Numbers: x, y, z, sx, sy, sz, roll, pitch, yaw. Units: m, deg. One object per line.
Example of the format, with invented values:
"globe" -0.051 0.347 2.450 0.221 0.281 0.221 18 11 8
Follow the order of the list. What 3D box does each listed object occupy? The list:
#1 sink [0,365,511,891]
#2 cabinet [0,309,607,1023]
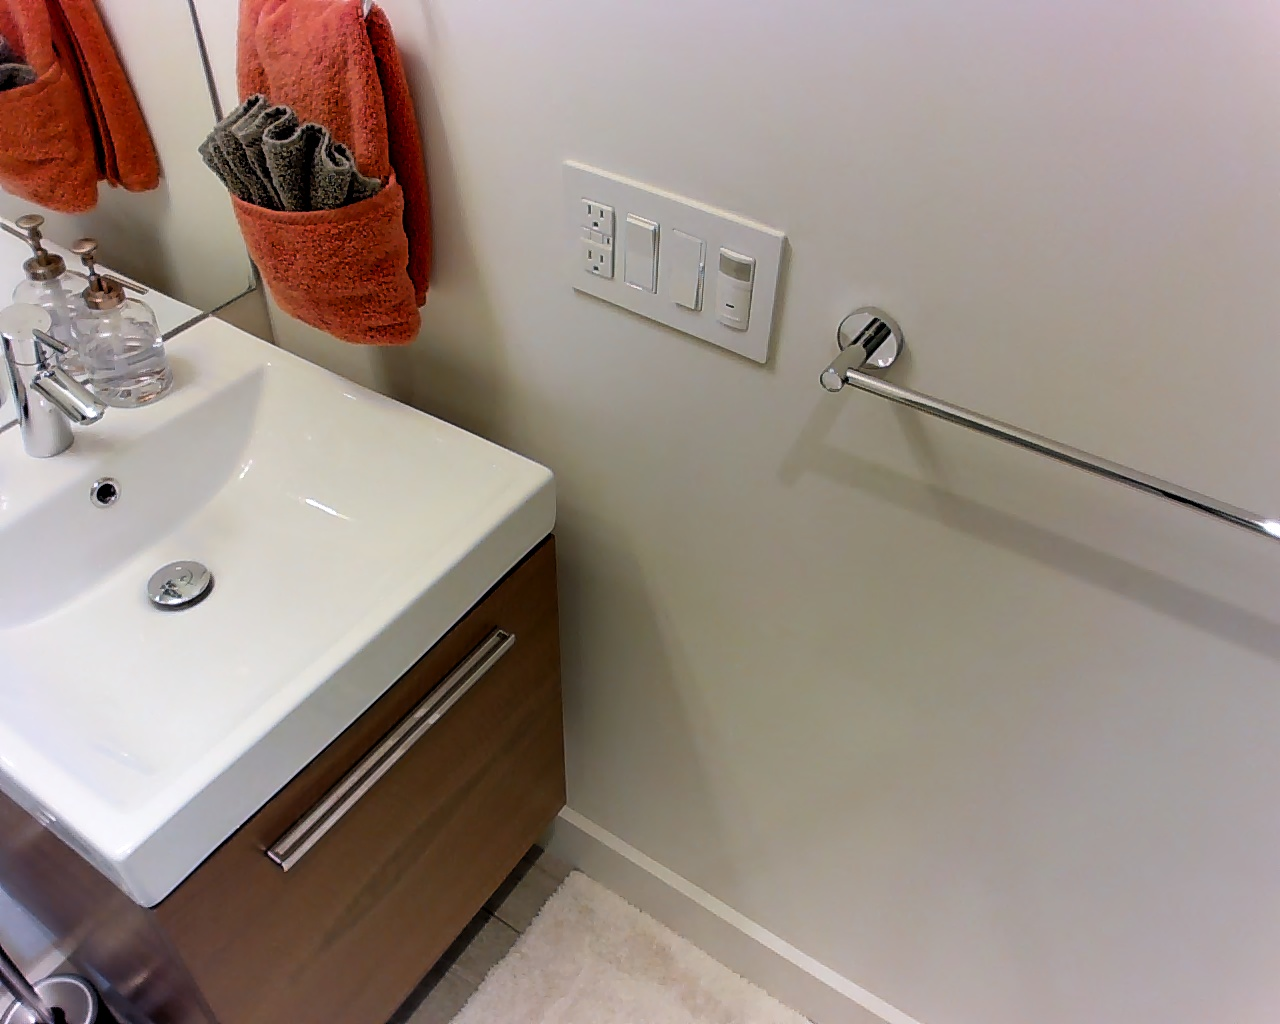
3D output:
"sink" -0.390 0.070 1.010 0.320 0.130 0.440 25 47 24
"cabinet" -0.400 0.240 1.190 0.520 0.630 0.520 24 47 24
